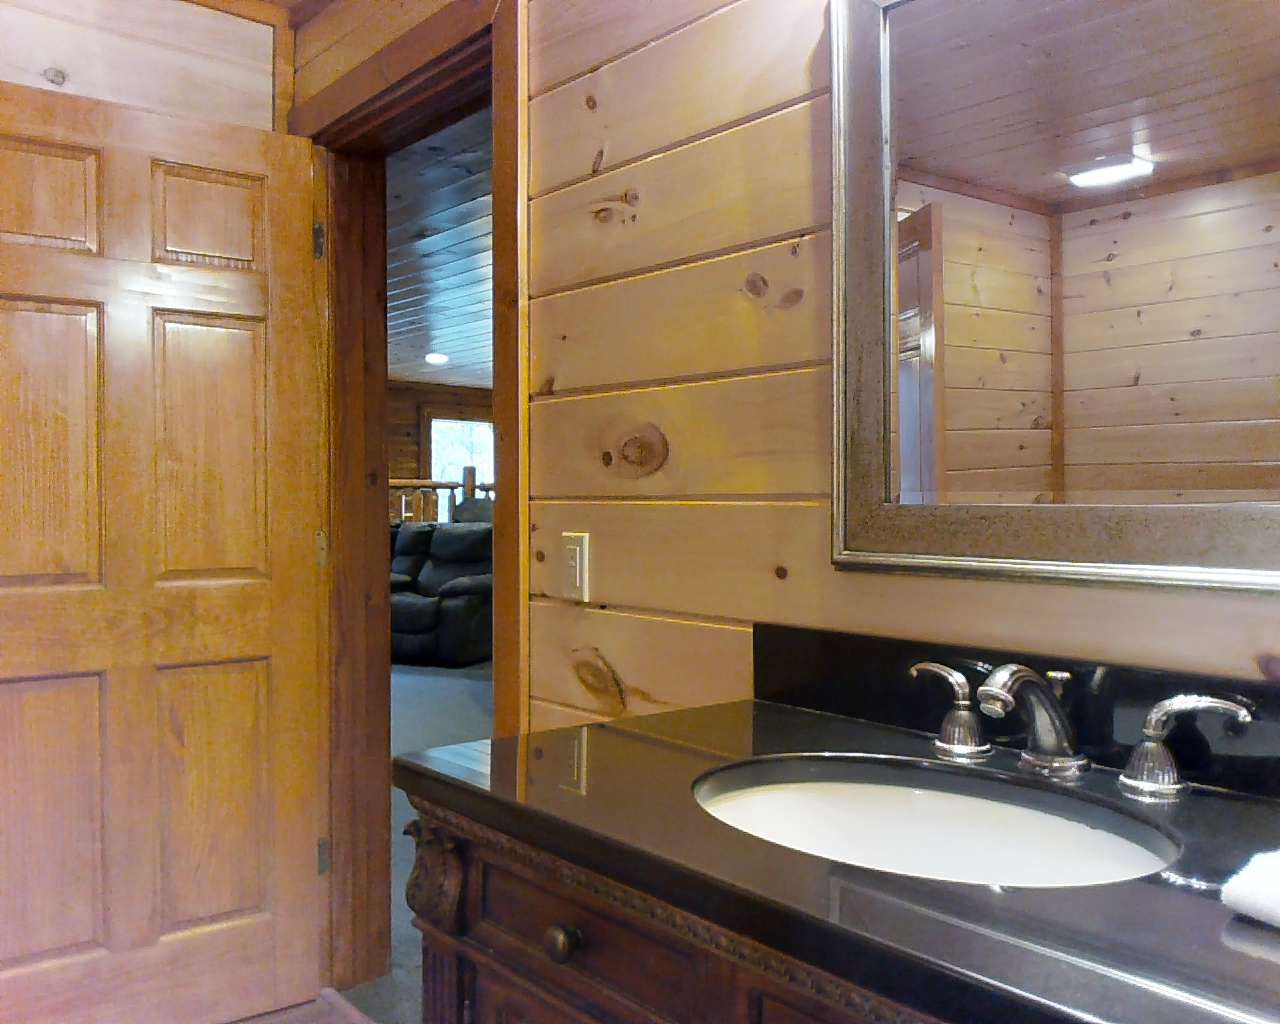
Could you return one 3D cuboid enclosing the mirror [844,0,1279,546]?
[{"bbox_3d":[0.470,-0.330,1.080,0.040,0.720,0.630,0,0,-41],"label":"mirror"}]

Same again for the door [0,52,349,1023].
[{"bbox_3d":[-1.080,0.110,2.320,0.910,2.051,0.060,0,0,-36],"label":"door"}]

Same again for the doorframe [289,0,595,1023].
[{"bbox_3d":[-0.460,0.060,2.290,0.200,2.181,0.910,0,0,-41],"label":"doorframe"}]
